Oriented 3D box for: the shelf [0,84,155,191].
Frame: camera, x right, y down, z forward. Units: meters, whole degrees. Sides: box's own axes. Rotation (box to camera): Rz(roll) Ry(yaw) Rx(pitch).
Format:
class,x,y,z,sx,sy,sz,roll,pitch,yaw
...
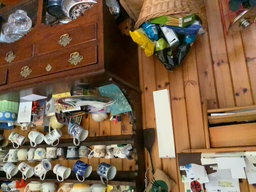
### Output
class,x,y,z,sx,sy,sz,roll,pitch,yaw
shelf,-0.570,0.600,1.480,1.480,1.130,0.260,-8,165,22
